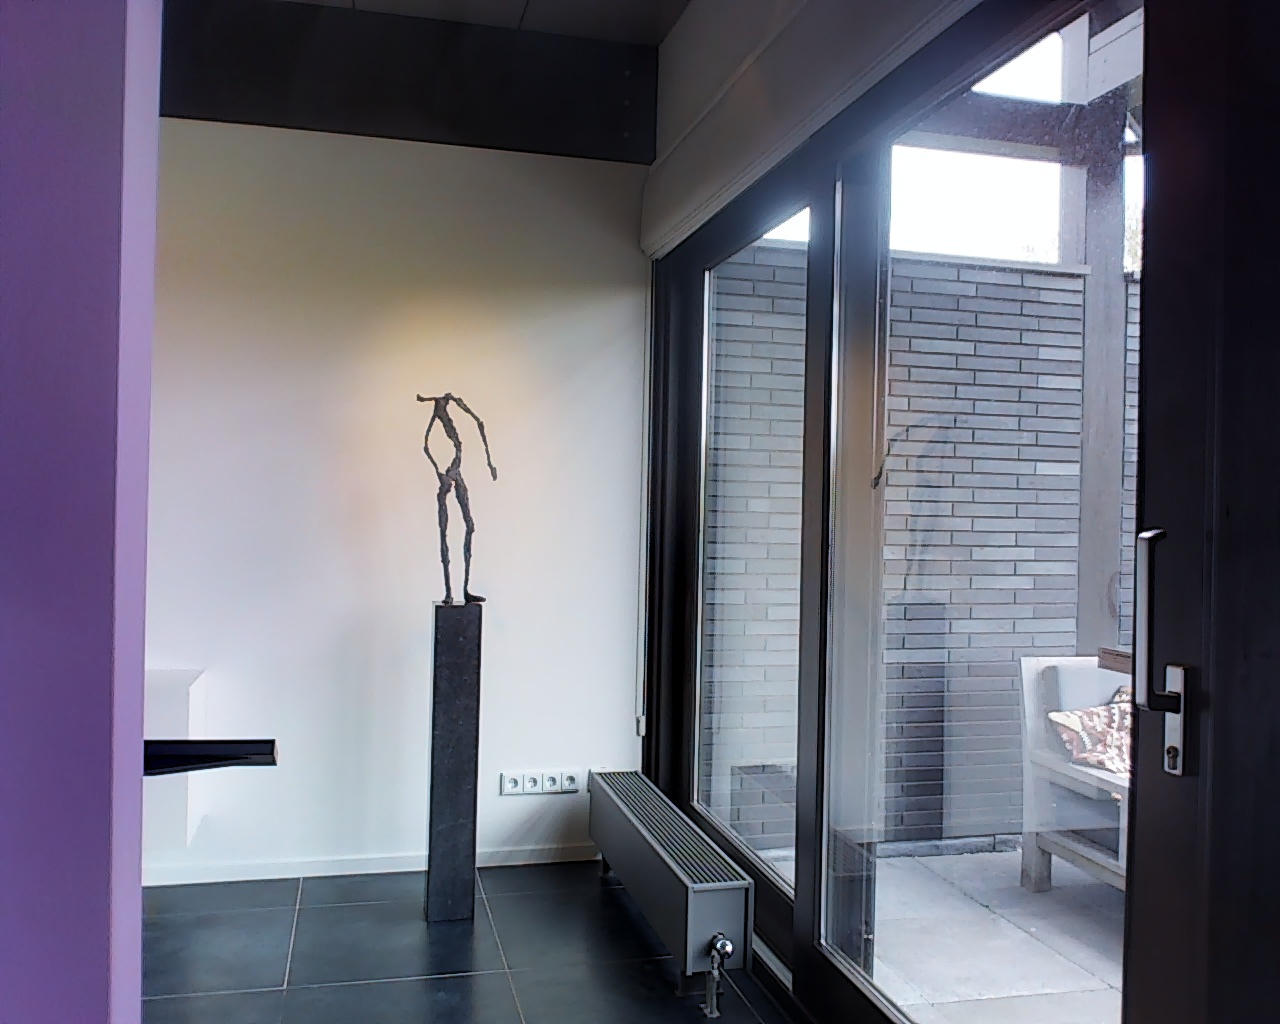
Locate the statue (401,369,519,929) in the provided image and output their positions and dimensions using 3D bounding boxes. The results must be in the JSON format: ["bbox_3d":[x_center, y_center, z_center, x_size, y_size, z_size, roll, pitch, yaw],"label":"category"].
[{"bbox_3d":[-0.590,0.430,3.500,0.310,1.740,0.240,2,0,-14],"label":"statue"}]
